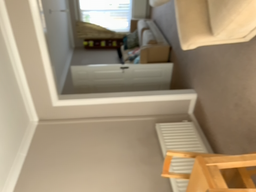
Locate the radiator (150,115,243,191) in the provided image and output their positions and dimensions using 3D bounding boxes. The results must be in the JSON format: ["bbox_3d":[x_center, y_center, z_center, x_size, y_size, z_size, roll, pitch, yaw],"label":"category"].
[{"bbox_3d":[0.730,0.670,2.600,1.170,0.710,0.120,-100,9,-56],"label":"radiator"}]

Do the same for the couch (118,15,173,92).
[{"bbox_3d":[0.300,-1.190,5.350,2.280,0.940,1.050,-100,9,-54],"label":"couch"}]

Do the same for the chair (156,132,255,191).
[{"bbox_3d":[0.710,0.620,1.570,0.530,0.880,0.390,-100,9,-54],"label":"chair"}]
